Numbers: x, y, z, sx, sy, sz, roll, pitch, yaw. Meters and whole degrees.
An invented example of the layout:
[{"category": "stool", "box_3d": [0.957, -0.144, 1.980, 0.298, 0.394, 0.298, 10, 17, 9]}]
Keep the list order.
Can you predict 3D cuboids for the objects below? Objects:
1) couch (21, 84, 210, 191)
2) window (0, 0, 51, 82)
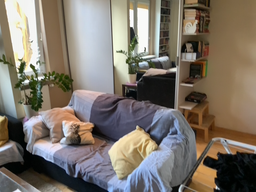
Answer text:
[{"category": "couch", "box_3d": [-0.140, 0.480, 2.170, 1.590, 0.850, 0.930, 10, 20, 33]}, {"category": "window", "box_3d": [-1.780, -1.110, 3.370, 0.230, 1.620, 0.900, 10, 20, 34]}]
